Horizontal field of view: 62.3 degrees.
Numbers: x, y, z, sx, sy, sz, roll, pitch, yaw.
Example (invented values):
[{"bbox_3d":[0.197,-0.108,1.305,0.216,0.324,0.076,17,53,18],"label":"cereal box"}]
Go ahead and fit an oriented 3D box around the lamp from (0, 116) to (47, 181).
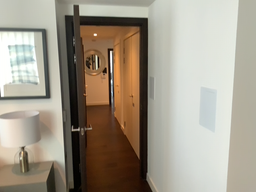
[{"bbox_3d":[-1.040,0.490,2.060,0.380,0.480,0.380,-2,9,-10],"label":"lamp"}]
